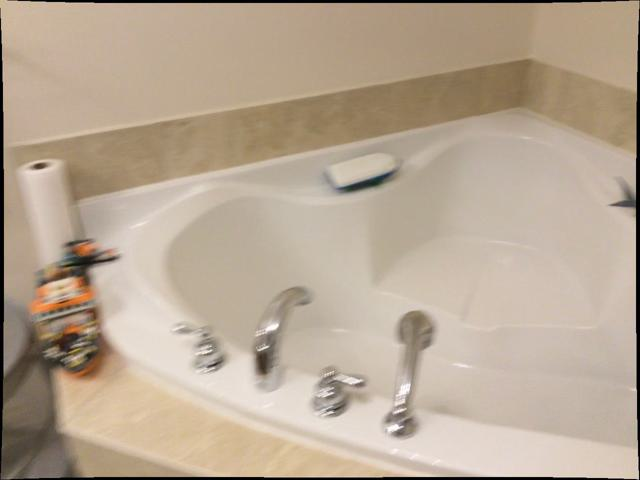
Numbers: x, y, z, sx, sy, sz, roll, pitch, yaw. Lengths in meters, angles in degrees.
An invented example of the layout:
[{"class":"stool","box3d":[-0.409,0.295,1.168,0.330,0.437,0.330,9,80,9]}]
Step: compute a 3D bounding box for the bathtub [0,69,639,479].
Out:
[{"class":"bathtub","box3d":[0.390,0.200,1.420,2.008,0.700,1.440,10,33,16]}]
